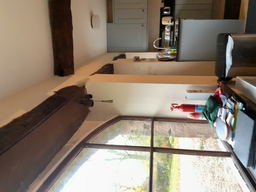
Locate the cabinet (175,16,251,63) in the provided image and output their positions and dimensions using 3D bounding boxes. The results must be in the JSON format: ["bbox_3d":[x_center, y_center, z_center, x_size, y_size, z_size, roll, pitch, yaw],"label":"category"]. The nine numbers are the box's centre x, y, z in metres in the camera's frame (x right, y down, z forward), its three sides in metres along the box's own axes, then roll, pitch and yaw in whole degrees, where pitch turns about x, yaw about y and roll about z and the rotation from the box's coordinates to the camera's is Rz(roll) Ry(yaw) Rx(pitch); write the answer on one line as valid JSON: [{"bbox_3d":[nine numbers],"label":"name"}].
[{"bbox_3d":[1.240,-0.870,3.230,0.360,0.930,0.640,-69,-19,-70],"label":"cabinet"}]

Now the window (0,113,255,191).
[{"bbox_3d":[0.070,0.500,1.070,2.350,1.360,0.100,-61,-28,-76],"label":"window"}]
